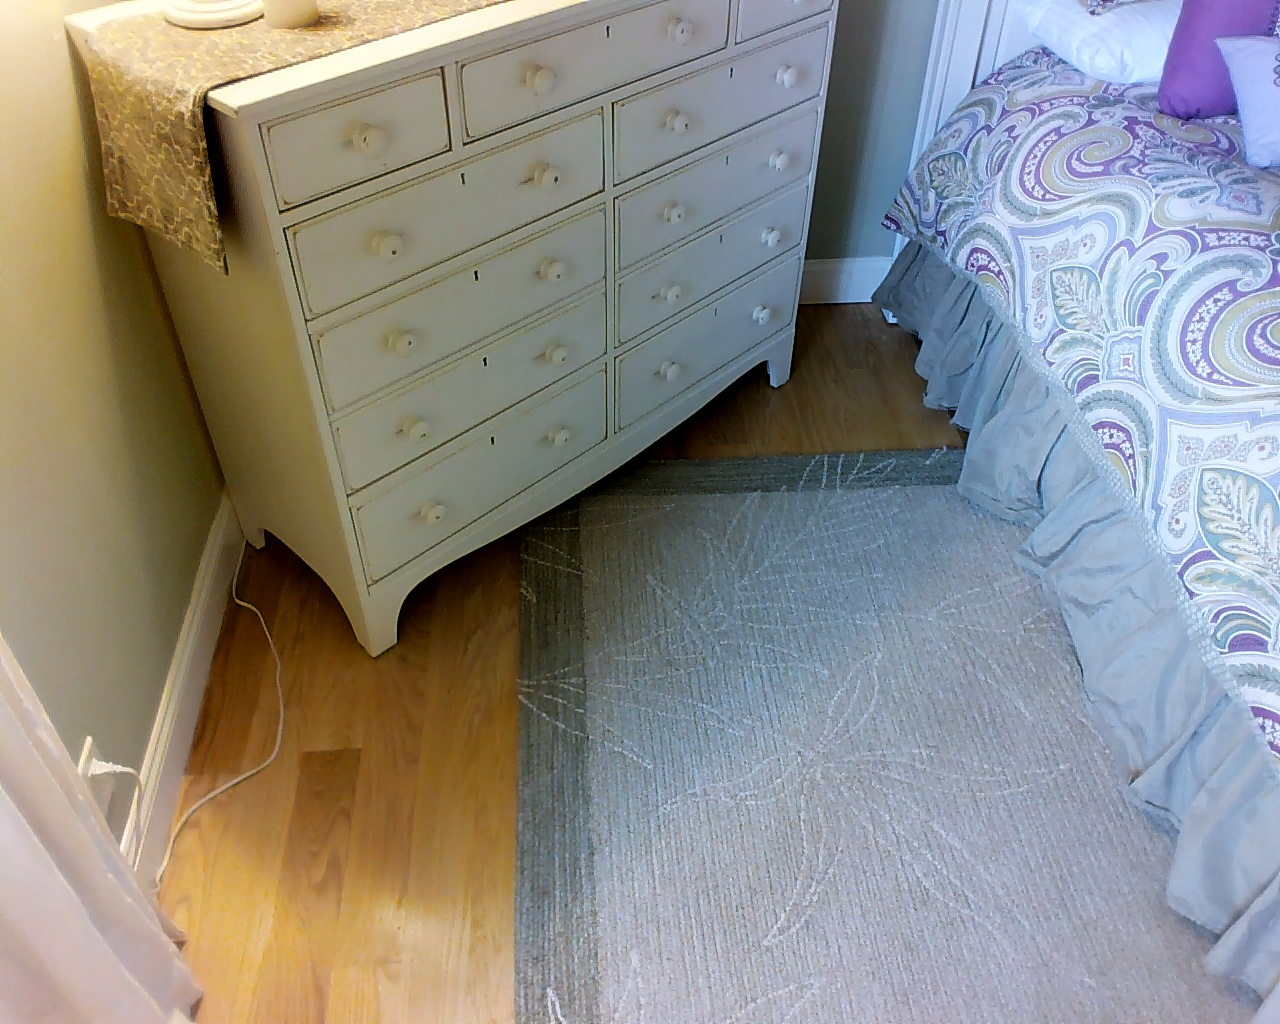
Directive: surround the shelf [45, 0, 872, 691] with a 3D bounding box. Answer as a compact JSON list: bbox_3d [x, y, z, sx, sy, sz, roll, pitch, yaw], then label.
[{"bbox_3d":[-0.200,-0.530,2.180,0.520,1.110,1.390,32,51,31],"label":"shelf"}]
